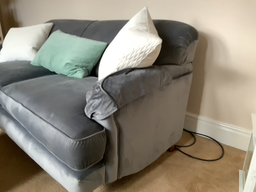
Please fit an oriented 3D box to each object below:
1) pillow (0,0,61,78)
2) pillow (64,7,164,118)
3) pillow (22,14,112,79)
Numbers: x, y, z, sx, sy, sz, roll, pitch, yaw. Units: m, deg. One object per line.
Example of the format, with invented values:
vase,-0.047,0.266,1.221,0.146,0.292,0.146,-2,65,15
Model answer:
pillow,-0.960,-0.490,1.920,0.450,0.500,0.210,-42,35,29
pillow,-0.020,-0.210,1.120,0.210,0.430,0.480,-31,14,21
pillow,-0.460,-0.330,1.540,0.620,0.350,0.190,6,45,44
